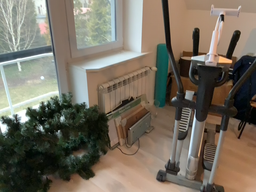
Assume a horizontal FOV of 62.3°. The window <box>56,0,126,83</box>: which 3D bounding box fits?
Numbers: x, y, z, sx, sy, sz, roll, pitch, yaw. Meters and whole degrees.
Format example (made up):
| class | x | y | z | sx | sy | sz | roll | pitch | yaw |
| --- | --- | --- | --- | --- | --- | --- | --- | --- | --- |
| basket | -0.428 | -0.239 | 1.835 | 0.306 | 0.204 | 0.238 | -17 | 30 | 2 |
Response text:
| class | x | y | z | sx | sy | sz | roll | pitch | yaw |
| --- | --- | --- | --- | --- | --- | --- | --- | --- | --- |
| window | -0.350 | -1.060 | 2.240 | 0.120 | 1.670 | 0.900 | 19 | 31 | 33 |
